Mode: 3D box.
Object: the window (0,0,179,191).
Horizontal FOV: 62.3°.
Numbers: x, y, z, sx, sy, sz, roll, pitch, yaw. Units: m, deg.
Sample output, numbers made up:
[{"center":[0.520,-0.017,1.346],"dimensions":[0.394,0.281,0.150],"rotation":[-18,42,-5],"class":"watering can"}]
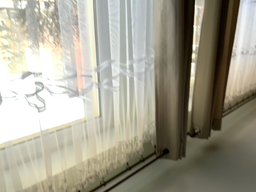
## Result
[{"center":[-0.350,-0.490,0.730],"dimensions":[1.590,2.160,0.170],"rotation":[-15,-159,-41],"class":"window"}]
